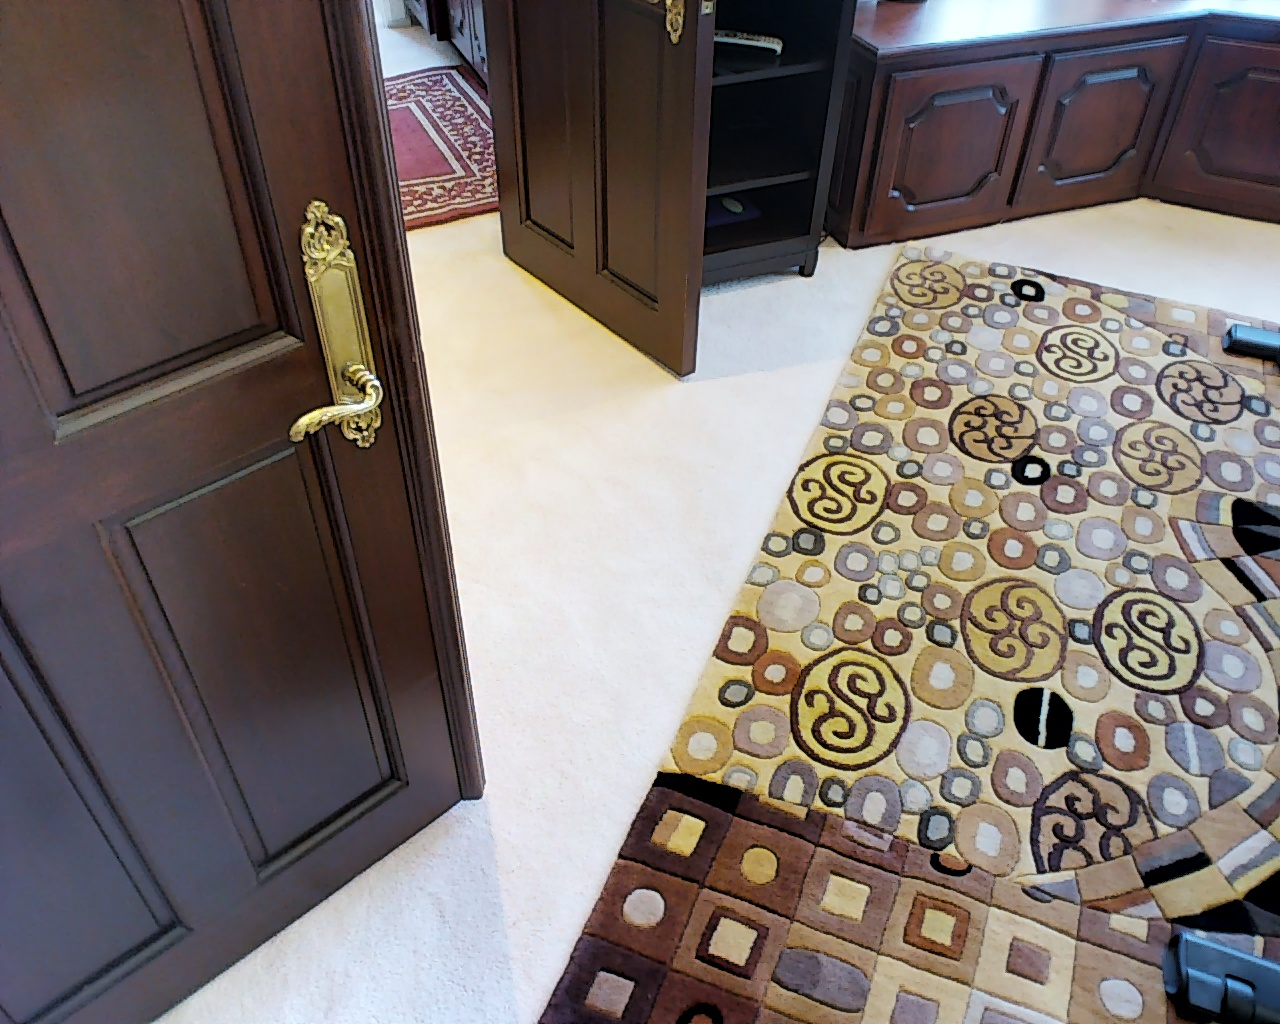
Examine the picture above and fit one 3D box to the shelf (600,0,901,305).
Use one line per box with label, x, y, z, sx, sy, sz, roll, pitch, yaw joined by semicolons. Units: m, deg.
shelf;0.240;-1.060;2.620;0.540;0.880;0.480;-15;44;-17
